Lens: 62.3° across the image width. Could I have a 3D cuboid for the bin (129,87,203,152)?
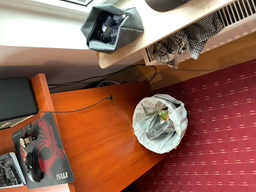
[{"bbox_3d":[0.220,0.130,1.210,0.270,0.250,0.280,-16,88,37],"label":"bin"}]
